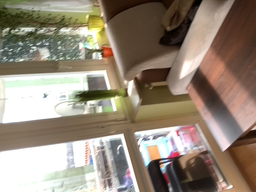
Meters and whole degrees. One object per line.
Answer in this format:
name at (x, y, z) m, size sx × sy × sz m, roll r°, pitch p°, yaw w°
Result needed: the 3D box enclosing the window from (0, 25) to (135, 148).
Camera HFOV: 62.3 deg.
window at (-0.860, -0.300, 2.470) m, size 0.100 × 1.450 × 1.800 m, roll 104°, pitch 155°, yaw -47°
